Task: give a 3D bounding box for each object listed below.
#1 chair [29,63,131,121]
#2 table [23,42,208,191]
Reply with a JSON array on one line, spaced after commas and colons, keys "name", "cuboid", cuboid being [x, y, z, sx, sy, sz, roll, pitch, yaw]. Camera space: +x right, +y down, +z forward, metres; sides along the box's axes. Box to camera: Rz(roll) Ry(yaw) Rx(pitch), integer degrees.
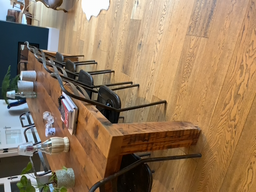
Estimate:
[{"name": "chair", "cuboid": [-0.520, -0.050, 2.310, 0.480, 0.930, 0.420, 36, 119, 51]}, {"name": "table", "cuboid": [-0.650, 0.120, 2.640, 3.080, 0.780, 0.990, 34, 117, 51]}]
